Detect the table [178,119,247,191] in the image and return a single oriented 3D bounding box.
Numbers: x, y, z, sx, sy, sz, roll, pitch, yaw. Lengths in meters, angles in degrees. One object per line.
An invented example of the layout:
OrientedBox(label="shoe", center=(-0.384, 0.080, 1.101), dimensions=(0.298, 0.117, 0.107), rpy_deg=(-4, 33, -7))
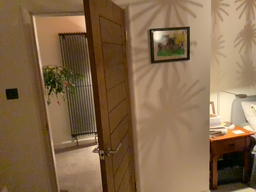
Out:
OrientedBox(label="table", center=(1.030, 0.700, 2.650), dimensions=(0.610, 0.640, 0.490), rpy_deg=(-7, 12, -12))
